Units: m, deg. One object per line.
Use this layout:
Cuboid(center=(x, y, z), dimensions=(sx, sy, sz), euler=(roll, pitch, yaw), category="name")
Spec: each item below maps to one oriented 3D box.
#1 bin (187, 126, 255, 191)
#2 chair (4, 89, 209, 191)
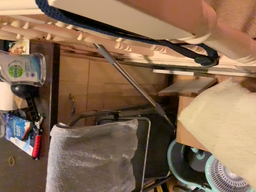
Cuboid(center=(0.510, 0.330, 1.060), dimensions=(0.320, 0.210, 0.260), euler=(12, 100, 41), category="bin")
Cuboid(center=(-0.040, 0.230, 1.090), dimensions=(0.490, 0.910, 0.440), euler=(16, 102, 40), category="chair")
